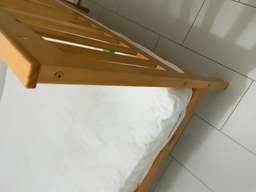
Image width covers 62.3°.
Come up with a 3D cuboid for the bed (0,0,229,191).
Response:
[{"bbox_3d":[-0.500,0.410,1.660,1.450,0.580,1.990,37,114,32],"label":"bed"}]
